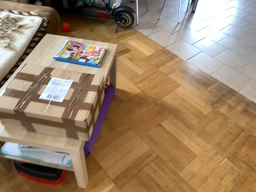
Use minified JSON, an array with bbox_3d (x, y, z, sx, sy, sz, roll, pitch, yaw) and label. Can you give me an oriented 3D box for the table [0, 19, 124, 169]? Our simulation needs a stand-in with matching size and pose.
[{"bbox_3d":[-0.440,-0.070,1.530,0.640,0.490,0.900,10,46,4],"label":"table"}]
